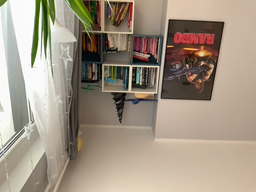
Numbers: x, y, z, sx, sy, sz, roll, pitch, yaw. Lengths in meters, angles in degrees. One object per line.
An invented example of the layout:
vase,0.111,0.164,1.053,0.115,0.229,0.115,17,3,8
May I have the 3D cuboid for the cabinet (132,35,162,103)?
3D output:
cabinet,0.230,-0.360,2.800,0.300,0.820,0.370,3,-162,-1
